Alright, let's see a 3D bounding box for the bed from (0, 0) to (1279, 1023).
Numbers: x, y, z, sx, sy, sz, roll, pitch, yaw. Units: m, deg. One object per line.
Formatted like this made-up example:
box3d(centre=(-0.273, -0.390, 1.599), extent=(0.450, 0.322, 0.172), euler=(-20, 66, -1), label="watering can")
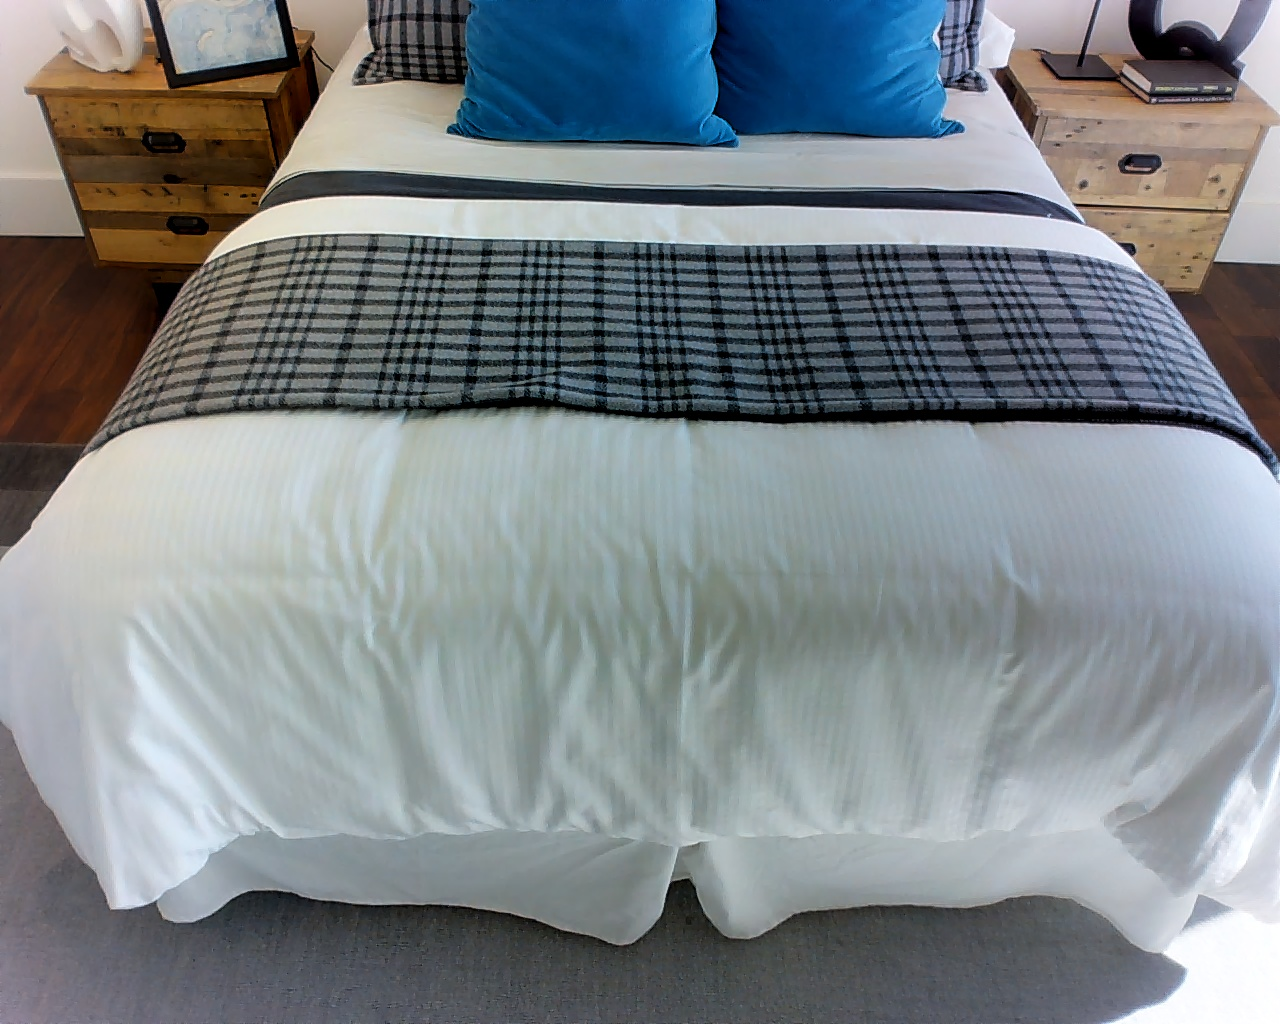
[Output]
box3d(centre=(0.050, -0.440, 1.890), extent=(1.920, 1.110, 2.210), euler=(1, 42, -1), label="bed")
